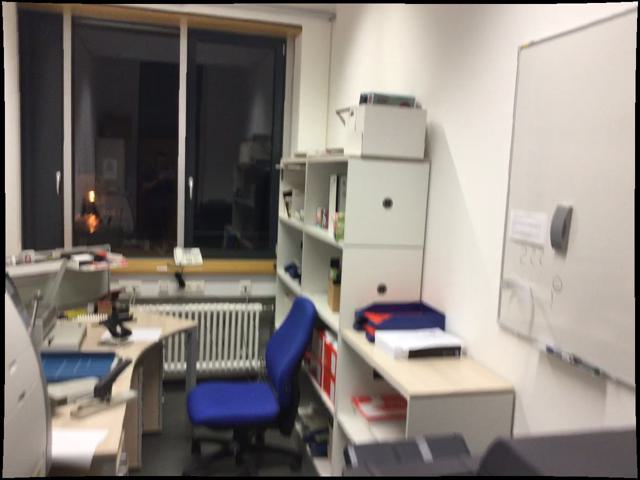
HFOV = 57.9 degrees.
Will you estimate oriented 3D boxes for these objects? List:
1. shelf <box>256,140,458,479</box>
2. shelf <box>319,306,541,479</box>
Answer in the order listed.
[{"bbox_3d":[0.060,0.330,3.410,0.470,1.752,1.800,2,8,-17],"label":"shelf"},{"bbox_3d":[0.370,0.851,2.370,0.470,0.961,0.870,2,8,-17],"label":"shelf"}]
